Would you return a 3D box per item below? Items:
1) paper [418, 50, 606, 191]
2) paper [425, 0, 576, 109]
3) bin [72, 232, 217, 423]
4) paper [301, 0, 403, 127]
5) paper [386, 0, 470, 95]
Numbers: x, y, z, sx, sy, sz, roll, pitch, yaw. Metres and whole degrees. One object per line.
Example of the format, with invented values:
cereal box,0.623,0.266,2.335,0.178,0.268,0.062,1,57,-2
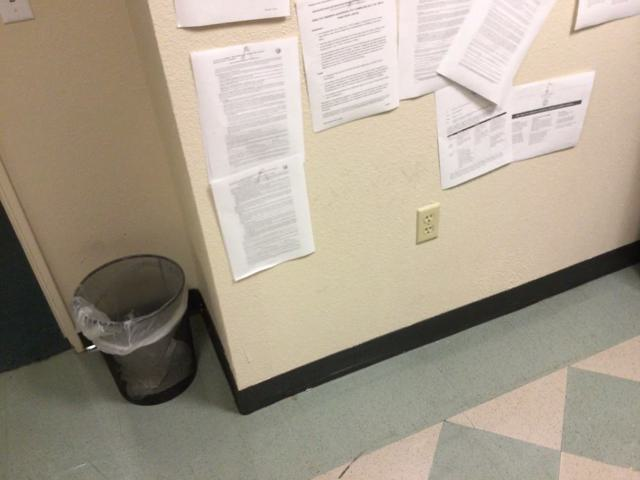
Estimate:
paper,0.480,-0.300,1.460,0.480,0.280,0.030,-14,39,-15
paper,0.410,-0.470,1.300,0.240,0.290,0.040,14,28,-32
bin,-0.520,0.250,1.720,0.310,0.350,0.350,-14,39,-15
paper,0.070,-0.380,1.210,0.210,0.260,0.020,-14,39,-15
paper,0.230,-0.460,1.230,0.180,0.280,0.020,-14,39,-15
